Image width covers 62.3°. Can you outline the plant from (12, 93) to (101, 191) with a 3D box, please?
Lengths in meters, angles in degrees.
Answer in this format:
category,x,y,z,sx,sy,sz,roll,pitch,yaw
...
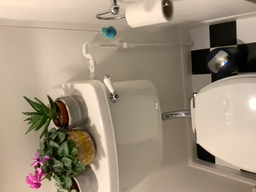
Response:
category,x,y,z,sx,sy,sz,roll,pitch,yaw
plant,-0.220,0.170,0.670,0.160,0.170,0.330,3,102,47
